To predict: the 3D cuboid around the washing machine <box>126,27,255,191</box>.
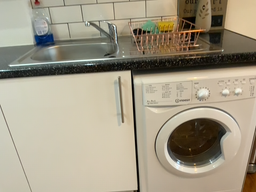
[{"bbox_3d":[0.340,0.120,1.320,0.630,0.920,0.630,-4,26,-1],"label":"washing machine"}]
